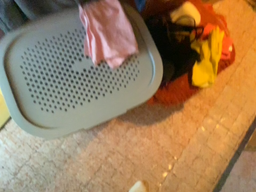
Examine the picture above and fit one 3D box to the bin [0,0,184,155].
[{"bbox_3d":[-0.160,-0.020,0.860,0.420,0.740,0.310,-22,81,-11],"label":"bin"}]
